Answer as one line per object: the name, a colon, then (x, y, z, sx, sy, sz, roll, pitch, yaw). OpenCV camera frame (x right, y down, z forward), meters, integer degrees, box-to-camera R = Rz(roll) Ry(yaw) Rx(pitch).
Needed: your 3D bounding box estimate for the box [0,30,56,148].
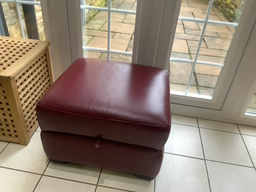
box: (-0.830, -0.080, 1.360, 0.480, 0.490, 0.550, 8, 35, 3)

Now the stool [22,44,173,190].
stool: (-0.100, 0.070, 1.290, 0.650, 0.460, 0.670, 10, 35, 5)
